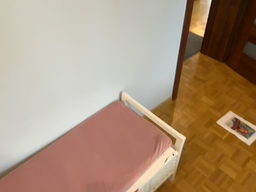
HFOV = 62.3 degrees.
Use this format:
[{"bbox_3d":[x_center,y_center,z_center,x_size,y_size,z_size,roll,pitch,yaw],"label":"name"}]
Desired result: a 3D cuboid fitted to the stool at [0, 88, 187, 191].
[{"bbox_3d":[-0.200,0.470,1.200,0.970,0.470,0.500,-33,51,-29],"label":"stool"}]
